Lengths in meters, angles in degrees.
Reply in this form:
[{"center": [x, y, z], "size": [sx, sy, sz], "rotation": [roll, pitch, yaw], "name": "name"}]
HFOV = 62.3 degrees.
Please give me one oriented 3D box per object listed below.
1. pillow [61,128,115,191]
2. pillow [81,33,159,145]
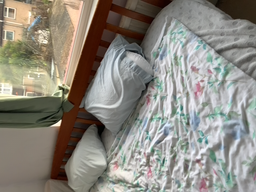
[{"center": [-0.400, 0.670, 1.950], "size": [0.640, 0.240, 0.420], "rotation": [-64, 37, 33], "name": "pillow"}, {"center": [-0.100, -0.030, 1.460], "size": [0.640, 0.220, 0.390], "rotation": [-65, 37, 33], "name": "pillow"}]
